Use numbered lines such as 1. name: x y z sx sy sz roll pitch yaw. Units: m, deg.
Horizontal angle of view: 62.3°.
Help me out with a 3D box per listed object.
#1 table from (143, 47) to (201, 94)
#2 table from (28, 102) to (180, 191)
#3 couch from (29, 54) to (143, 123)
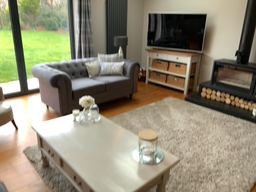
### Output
1. table: 0.970 -0.640 4.960 0.470 0.810 1.210 -14 26 -39
2. table: -0.310 0.570 1.990 0.700 0.510 1.330 -15 27 -40
3. couch: -0.710 -0.270 3.910 1.720 0.750 1.000 -15 27 -40
